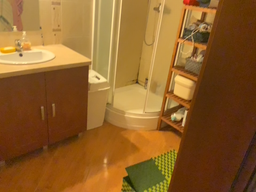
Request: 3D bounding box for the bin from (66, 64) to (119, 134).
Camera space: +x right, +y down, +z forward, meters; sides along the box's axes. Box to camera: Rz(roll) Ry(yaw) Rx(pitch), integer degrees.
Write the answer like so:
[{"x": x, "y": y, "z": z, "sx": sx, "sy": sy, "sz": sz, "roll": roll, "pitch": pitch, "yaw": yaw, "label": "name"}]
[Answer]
[{"x": -0.430, "y": 0.010, "z": 2.450, "sx": 0.350, "sy": 0.580, "sz": 0.530, "roll": -16, "pitch": 35, "yaw": -39, "label": "bin"}]
